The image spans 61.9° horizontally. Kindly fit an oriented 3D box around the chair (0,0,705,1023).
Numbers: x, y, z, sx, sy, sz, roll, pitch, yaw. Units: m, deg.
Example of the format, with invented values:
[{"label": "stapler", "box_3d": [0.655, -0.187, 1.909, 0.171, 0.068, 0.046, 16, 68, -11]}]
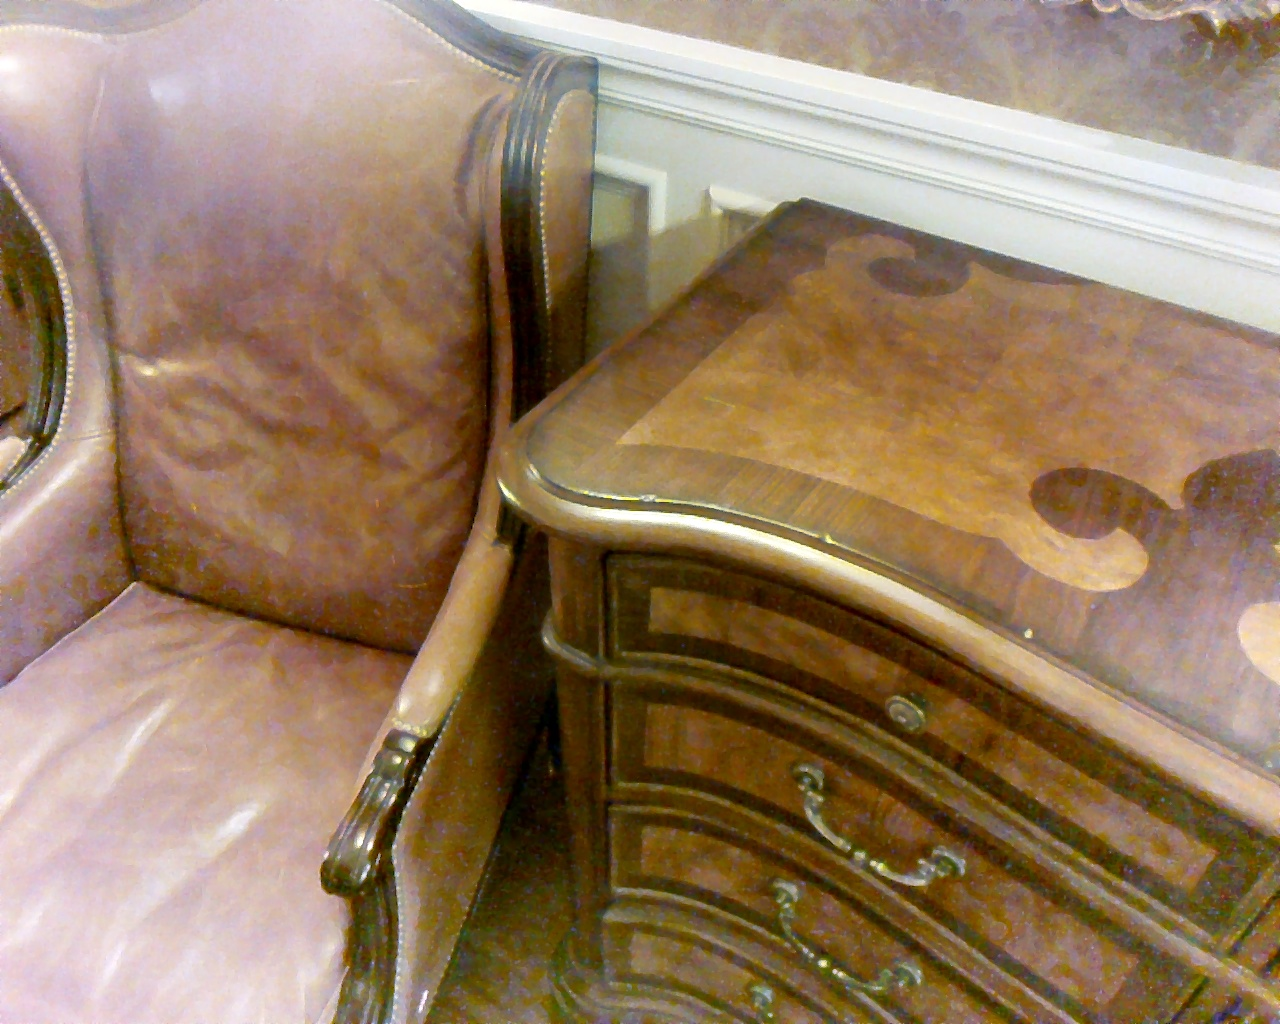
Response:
[{"label": "chair", "box_3d": [-0.470, 0.070, 1.230, 0.770, 1.130, 1.030, 14, 43, 14]}]
